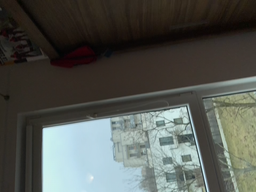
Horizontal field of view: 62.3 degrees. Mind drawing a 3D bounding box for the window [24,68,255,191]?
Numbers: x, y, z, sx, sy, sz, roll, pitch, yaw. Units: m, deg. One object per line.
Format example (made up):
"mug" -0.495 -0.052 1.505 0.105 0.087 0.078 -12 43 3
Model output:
"window" 0.310 0.500 1.440 0.220 1.960 1.210 77 -175 -70
